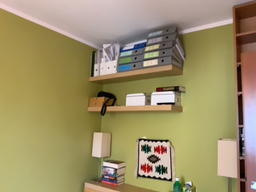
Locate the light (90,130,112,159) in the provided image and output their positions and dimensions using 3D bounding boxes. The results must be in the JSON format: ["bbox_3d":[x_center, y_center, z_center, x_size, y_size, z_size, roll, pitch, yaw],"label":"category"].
[{"bbox_3d":[-0.330,0.580,2.590,0.190,0.320,0.160,-2,-9,33],"label":"light"}]
